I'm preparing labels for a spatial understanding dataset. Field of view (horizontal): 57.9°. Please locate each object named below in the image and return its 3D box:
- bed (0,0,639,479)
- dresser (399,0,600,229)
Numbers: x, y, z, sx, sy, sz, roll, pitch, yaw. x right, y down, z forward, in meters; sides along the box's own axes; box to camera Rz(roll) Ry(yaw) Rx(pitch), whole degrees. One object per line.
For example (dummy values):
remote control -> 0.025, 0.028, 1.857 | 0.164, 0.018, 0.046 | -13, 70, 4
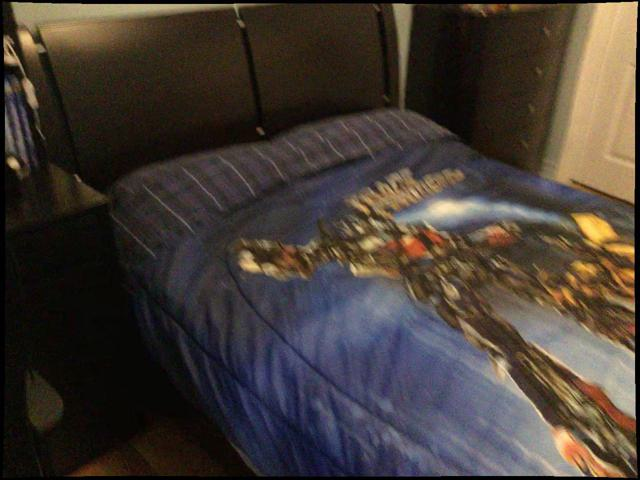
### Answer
bed -> 0.460, 0.020, 1.440 | 1.689, 0.941, 2.289 | -26, 39, -36
dresser -> 0.879, -0.711, 2.860 | 0.910, 0.981, 0.420 | -26, 39, -36
